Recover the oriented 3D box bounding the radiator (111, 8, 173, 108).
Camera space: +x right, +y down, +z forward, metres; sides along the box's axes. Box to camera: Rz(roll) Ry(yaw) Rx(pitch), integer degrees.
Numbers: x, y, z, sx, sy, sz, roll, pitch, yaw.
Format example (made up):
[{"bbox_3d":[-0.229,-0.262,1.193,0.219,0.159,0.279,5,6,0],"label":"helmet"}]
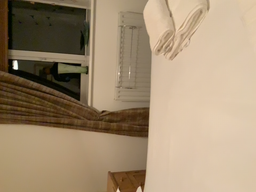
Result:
[{"bbox_3d":[0.150,-0.370,2.250,0.070,0.600,0.980,-158,71,-71],"label":"radiator"}]
